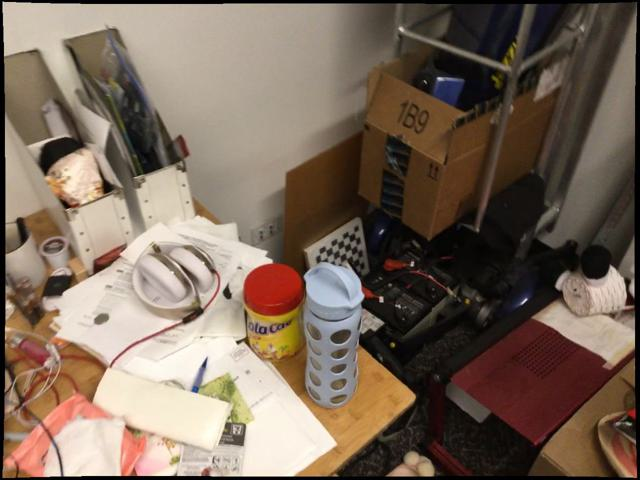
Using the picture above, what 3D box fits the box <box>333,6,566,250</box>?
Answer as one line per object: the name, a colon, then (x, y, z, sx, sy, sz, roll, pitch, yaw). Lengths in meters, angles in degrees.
box: (0.290, -0.280, 1.380, 0.400, 0.360, 0.310, -32, 54, -29)
